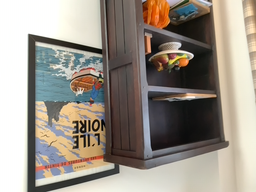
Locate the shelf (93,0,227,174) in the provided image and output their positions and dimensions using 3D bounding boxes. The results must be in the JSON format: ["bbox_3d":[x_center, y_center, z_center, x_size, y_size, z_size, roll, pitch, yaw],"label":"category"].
[{"bbox_3d":[0.250,-0.480,1.560,0.920,1.780,0.390,1,173,-42],"label":"shelf"}]
